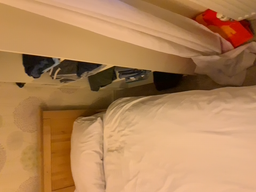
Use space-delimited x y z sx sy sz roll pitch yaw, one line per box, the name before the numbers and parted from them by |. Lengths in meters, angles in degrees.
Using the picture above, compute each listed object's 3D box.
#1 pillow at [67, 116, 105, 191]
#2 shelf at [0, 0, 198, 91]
pillow | -0.370 0.500 1.800 0.370 0.150 0.630 -12 79 53
shelf | -0.610 -0.250 1.410 1.010 2.080 0.300 -7 84 53
